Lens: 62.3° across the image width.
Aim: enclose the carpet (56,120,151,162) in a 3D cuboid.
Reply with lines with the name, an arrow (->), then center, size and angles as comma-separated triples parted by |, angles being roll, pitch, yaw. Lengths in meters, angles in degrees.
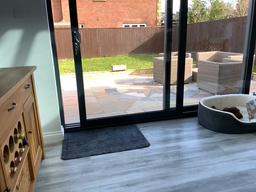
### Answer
carpet -> -0.280, 0.460, 2.360 | 0.900, 0.060, 0.700 | -4, 16, -10
